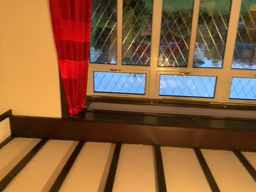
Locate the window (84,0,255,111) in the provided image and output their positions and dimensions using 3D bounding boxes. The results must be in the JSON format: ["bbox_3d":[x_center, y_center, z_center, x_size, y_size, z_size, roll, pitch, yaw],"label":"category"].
[{"bbox_3d":[0.970,-0.680,2.810,3.080,1.750,0.090,2,-163,2],"label":"window"}]
